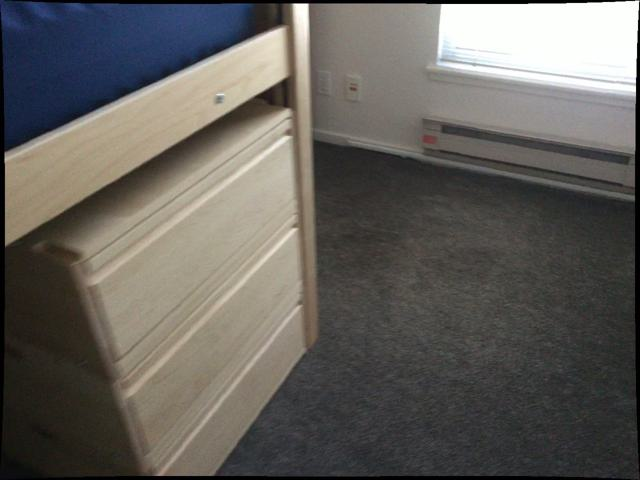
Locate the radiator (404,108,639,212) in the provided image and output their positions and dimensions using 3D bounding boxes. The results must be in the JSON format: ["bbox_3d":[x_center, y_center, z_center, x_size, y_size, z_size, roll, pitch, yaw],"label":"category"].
[{"bbox_3d":[0.839,-0.351,2.430,0.969,0.240,0.100,15,38,22],"label":"radiator"}]
